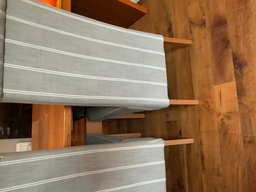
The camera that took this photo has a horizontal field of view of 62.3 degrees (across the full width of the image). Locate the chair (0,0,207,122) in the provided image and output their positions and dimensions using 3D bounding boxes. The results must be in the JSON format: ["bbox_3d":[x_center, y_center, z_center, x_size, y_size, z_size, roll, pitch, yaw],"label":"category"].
[{"bbox_3d":[-0.210,-0.120,1.220,0.730,1.050,0.500,-13,76,55],"label":"chair"}]

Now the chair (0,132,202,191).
[{"bbox_3d":[-0.210,0.460,1.160,0.650,1.050,0.470,-13,76,55],"label":"chair"}]
